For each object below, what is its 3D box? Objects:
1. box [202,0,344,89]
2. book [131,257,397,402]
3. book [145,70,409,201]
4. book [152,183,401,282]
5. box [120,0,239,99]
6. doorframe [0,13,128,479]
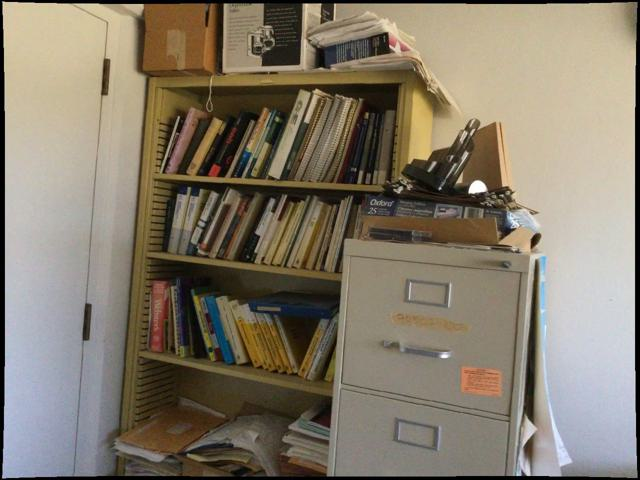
[{"bbox_3d":[-0.150,-0.742,1.940,0.379,0.391,0.270,4,2,22],"label":"box"},{"bbox_3d":[-0.209,0.281,2.050,0.898,0.361,0.280,4,2,22],"label":"book"},{"bbox_3d":[-0.160,-0.351,2.010,0.868,0.371,0.270,4,2,22],"label":"book"},{"bbox_3d":[-0.170,-0.040,2.050,0.868,0.281,0.210,4,2,22],"label":"book"},{"bbox_3d":[-0.489,-0.692,2.010,0.349,0.351,0.180,4,2,22],"label":"box"},{"bbox_3d":[-0.987,0.401,1.550,0.090,2.035,1.100,4,2,22],"label":"doorframe"}]
